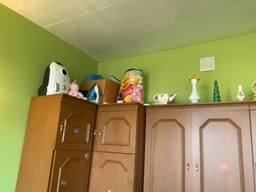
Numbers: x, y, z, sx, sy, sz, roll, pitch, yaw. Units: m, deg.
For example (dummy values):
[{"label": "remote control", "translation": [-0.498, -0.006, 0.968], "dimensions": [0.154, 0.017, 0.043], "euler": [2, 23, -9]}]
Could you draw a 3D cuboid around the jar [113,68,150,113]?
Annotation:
[{"label": "jar", "translation": [0.050, -0.050, 2.490], "dimensions": [0.310, 0.440, 0.280], "euler": [-5, -17, 33]}]
